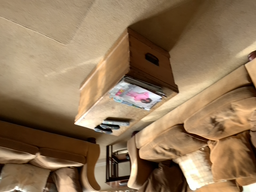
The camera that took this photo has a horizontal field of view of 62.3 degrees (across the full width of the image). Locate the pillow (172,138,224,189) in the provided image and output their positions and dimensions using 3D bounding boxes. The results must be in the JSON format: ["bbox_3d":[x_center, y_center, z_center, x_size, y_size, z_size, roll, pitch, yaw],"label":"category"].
[{"bbox_3d":[0.780,0.790,2.440,0.240,0.420,0.440,21,137,-30],"label":"pillow"}]

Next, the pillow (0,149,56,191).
[{"bbox_3d":[-1.290,1.000,2.670,0.590,0.410,0.180,35,131,-23],"label":"pillow"}]

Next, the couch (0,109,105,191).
[{"bbox_3d":[-1.270,0.890,2.650,1.690,0.850,0.960,22,137,-31],"label":"couch"}]

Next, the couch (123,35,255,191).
[{"bbox_3d":[0.900,0.500,2.310,0.990,0.860,1.940,20,138,-28],"label":"couch"}]

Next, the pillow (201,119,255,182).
[{"bbox_3d":[1.060,0.560,2.120,0.200,0.430,0.520,21,138,-29],"label":"pillow"}]
